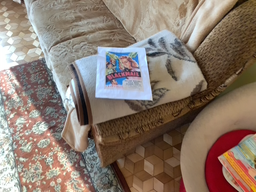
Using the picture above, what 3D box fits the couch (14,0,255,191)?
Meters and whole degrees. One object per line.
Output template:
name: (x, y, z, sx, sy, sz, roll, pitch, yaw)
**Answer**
couch: (-0.240, -0.720, 1.610, 1.030, 0.940, 2.310, -18, 56, -17)
